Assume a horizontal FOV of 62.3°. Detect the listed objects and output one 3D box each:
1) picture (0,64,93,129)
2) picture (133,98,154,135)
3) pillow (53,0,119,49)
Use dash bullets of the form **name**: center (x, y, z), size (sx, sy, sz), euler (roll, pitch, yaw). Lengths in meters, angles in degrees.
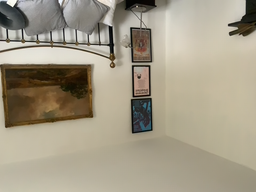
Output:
- **picture**: center (-0.900, -0.020, 2.470), size (0.960, 0.680, 0.120), euler (-4, -173, -26)
- **picture**: center (0.240, 0.300, 3.160), size (0.340, 0.530, 0.030), euler (-4, -173, -27)
- **pillow**: center (-0.460, -0.890, 2.370), size (0.450, 0.530, 0.230), euler (-48, -174, -38)
